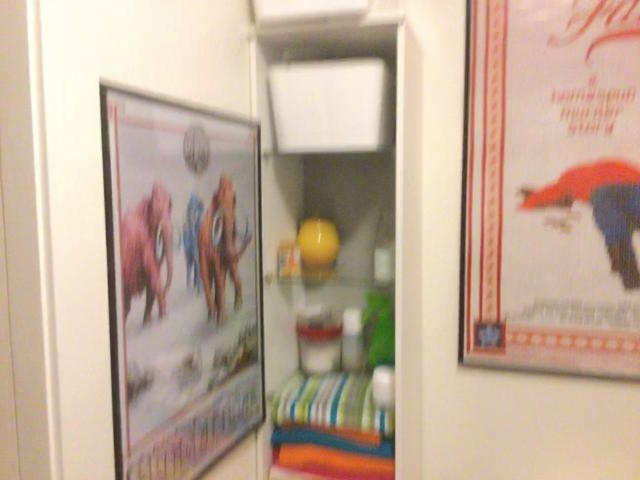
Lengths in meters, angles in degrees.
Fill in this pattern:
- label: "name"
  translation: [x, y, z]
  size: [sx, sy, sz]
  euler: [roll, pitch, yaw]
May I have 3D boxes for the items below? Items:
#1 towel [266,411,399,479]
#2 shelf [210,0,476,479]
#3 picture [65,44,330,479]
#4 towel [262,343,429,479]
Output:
- label: "towel"
  translation: [0.020, 0.470, 1.170]
  size: [0.260, 0.190, 0.050]
  euler: [5, 3, 20]
- label: "shelf"
  translation: [0.040, 0.470, 1.200]
  size: [0.380, 1.790, 0.390]
  euler: [5, 3, 20]
- label: "picture"
  translation: [-0.150, 0.070, 1.030]
  size: [0.060, 0.620, 0.710]
  euler: [5, 3, 21]
- label: "towel"
  translation: [0.060, 0.410, 1.230]
  size: [0.280, 0.300, 0.240]
  euler: [5, 3, 20]
